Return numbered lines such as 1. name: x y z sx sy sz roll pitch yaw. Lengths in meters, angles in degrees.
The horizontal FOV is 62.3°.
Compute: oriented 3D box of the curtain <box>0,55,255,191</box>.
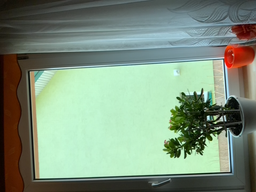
1. curtain: 0.050 0.720 1.480 0.570 1.580 1.800 16 -109 -88
